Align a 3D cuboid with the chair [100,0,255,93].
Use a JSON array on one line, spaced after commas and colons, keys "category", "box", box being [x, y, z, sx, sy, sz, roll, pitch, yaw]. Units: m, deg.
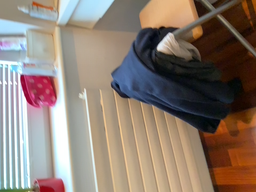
[{"category": "chair", "box": [0.260, -0.280, 1.030, 0.320, 0.660, 0.430, -31, 64, 50]}]
